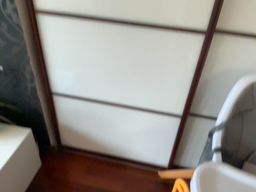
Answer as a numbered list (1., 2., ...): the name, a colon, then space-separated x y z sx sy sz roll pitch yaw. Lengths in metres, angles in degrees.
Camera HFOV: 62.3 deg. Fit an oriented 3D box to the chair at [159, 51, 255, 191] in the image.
1. chair: 0.480 0.440 0.930 0.570 0.970 0.710 10 38 6
